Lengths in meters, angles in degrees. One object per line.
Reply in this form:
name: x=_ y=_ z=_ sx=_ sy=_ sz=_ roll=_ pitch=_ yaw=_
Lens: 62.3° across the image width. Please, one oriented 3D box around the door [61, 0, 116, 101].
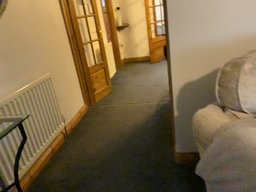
door: x=-0.550 y=-0.990 z=2.970 sx=0.150 sy=1.990 sz=0.730 roll=3 pitch=24 yaw=25
